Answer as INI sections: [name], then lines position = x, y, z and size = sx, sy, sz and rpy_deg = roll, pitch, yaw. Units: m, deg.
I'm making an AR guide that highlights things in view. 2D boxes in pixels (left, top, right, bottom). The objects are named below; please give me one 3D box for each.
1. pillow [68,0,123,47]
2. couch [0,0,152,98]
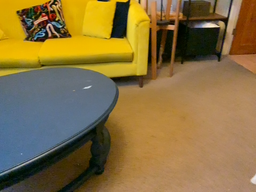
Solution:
[pillow]
position = -0.330, -0.760, 2.120
size = 0.410, 0.370, 0.150
rpy_deg = 32, 22, 10
[couch]
position = -0.880, -0.570, 2.140
size = 2.010, 0.760, 0.950
rpy_deg = -3, 31, -7
